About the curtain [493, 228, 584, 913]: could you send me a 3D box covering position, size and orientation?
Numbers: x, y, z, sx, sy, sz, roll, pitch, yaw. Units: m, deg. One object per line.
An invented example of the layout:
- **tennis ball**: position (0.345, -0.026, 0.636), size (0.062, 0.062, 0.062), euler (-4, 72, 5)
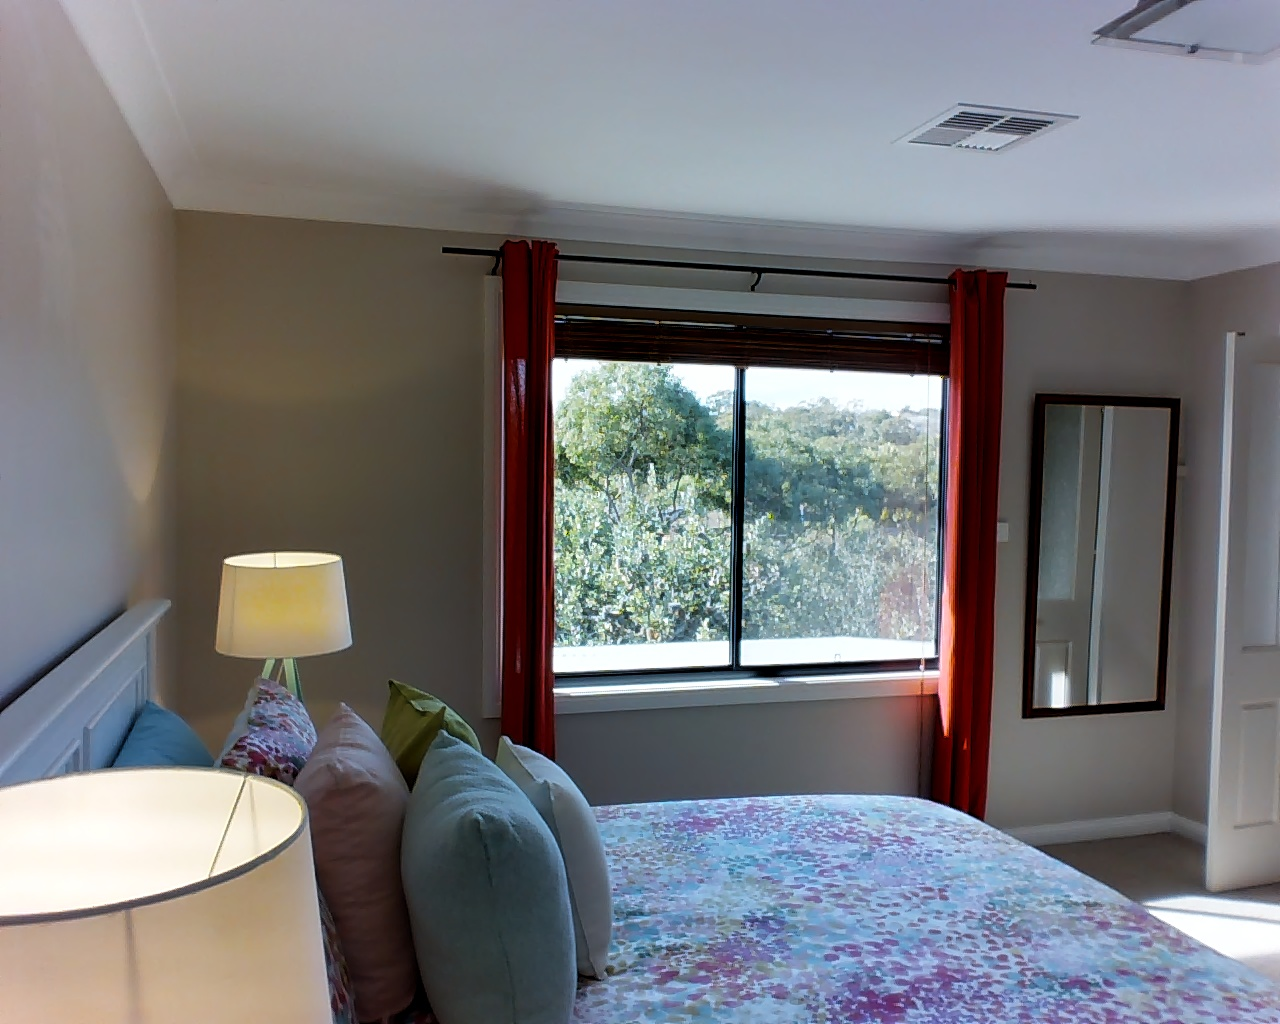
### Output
- **curtain**: position (-0.350, 0.200, 3.640), size (0.250, 2.251, 0.210), euler (0, 2, -17)

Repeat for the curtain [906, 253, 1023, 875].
- **curtain**: position (1.240, 0.200, 4.100), size (0.300, 2.301, 0.230), euler (0, 2, -17)

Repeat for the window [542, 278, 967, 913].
- **window**: position (0.440, 0.290, 3.910), size (1.570, 2.141, 0.180), euler (0, 2, -17)

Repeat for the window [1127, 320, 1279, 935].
- **window**: position (2.339, 0.380, 3.650), size (0.500, 2.031, 1.210), euler (0, 2, -17)
